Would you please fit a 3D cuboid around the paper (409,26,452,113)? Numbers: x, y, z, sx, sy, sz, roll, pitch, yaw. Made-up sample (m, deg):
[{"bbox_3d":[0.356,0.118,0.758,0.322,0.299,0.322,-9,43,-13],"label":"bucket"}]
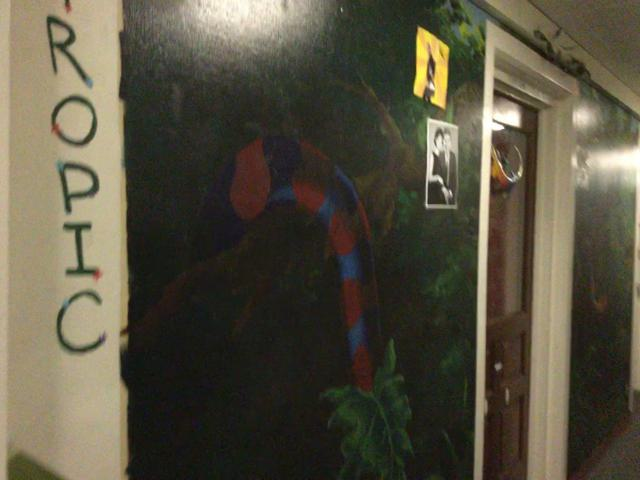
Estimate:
[{"bbox_3d":[0.350,-0.530,1.820,0.020,0.220,0.210,4,1,40],"label":"paper"}]
